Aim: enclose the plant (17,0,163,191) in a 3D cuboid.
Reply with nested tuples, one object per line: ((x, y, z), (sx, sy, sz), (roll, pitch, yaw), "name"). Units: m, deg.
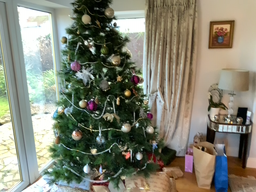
((-0.210, -0.120, 2.360), (1.080, 2.200, 1.320), (0, 14, 6), "plant")
